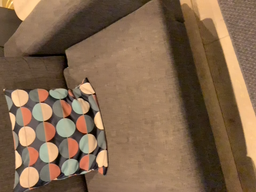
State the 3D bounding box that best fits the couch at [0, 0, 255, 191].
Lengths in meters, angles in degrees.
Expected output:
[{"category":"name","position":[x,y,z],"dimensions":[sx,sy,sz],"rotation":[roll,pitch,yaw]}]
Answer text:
[{"category":"couch","position":[-0.080,0.510,1.050],"dimensions":[1.050,0.920,2.070],"rotation":[-19,81,41]}]
